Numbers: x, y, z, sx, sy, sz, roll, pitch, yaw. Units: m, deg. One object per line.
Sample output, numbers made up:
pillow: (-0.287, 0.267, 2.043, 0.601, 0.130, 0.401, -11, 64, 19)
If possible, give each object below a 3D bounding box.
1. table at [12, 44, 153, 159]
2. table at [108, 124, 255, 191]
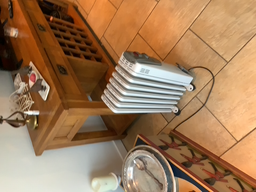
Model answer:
table: (-0.350, 0.050, 1.700, 0.510, 0.820, 0.560, -53, 55, 27)
table: (0.390, 0.580, 1.240, 0.940, 0.430, 0.420, 30, 107, 40)
